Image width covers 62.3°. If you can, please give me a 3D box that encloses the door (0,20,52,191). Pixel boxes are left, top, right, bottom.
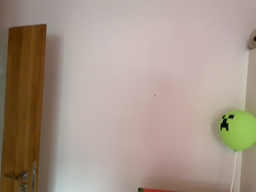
[{"bbox_3d":[-1.030,0.600,1.470,0.970,2.140,0.140,4,1,19],"label":"door"}]
